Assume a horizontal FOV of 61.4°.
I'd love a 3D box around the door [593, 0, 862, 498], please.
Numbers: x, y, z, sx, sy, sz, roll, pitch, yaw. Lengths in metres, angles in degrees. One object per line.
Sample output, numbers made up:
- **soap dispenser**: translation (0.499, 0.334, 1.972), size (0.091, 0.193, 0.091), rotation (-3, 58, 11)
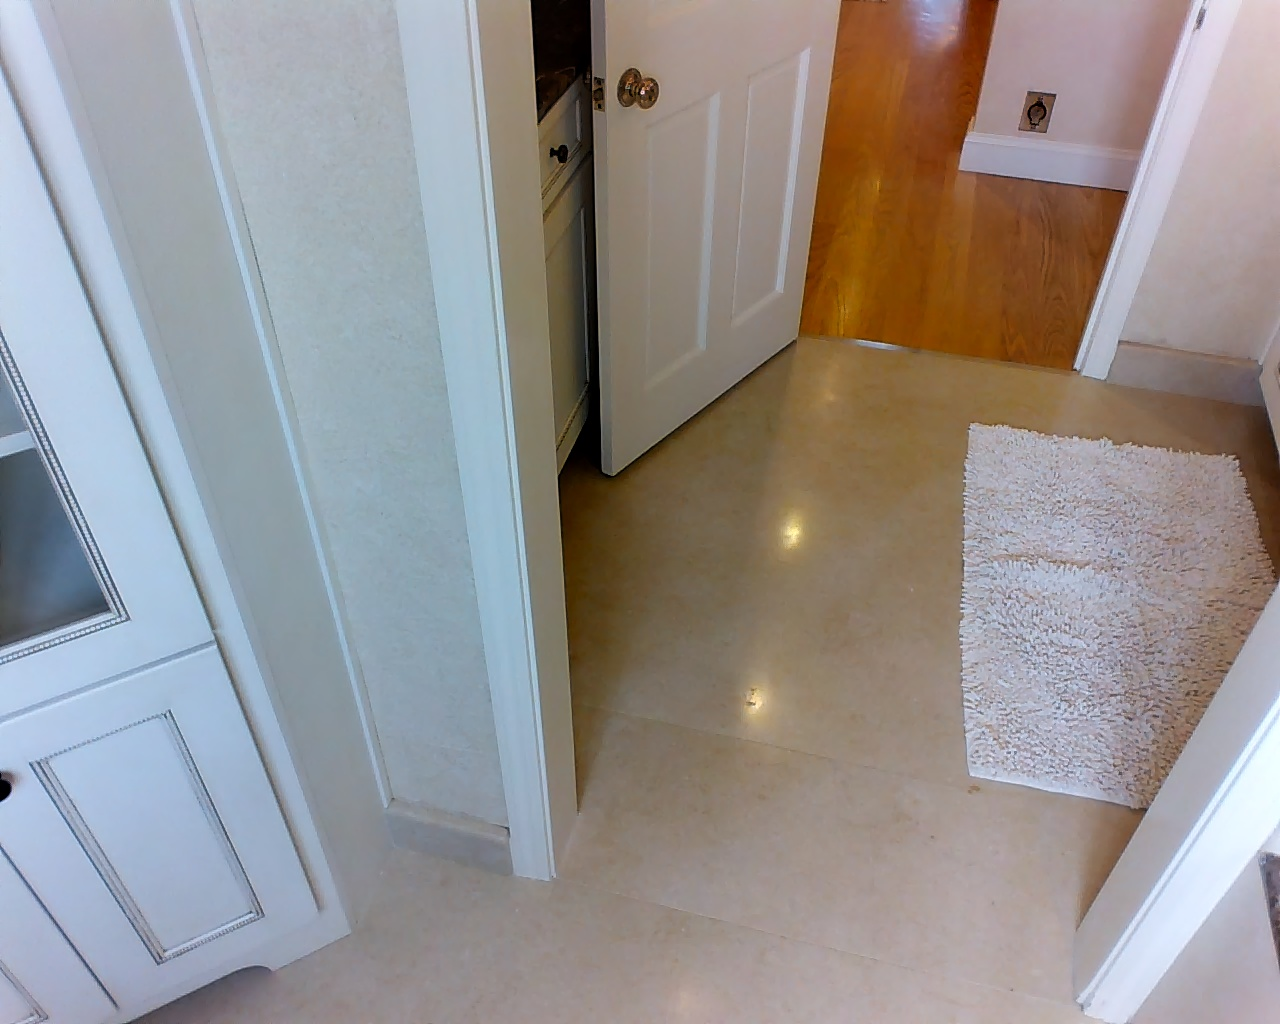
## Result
- **door**: translation (0.200, -1.010, 2.000), size (0.050, 2.060, 0.800), rotation (30, 50, 28)
